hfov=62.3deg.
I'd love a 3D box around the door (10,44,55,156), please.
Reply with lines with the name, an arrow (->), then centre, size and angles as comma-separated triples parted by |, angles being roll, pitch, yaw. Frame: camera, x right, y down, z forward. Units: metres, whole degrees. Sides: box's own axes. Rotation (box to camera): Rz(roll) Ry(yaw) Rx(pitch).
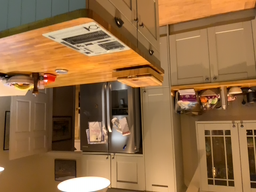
door -> -1.800, 0.100, 4.130 | 0.110, 1.900, 1.120 | -3, 174, 14

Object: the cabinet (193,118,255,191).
cabinet -> 1.470, 0.830, 2.830 | 1.050, 1.040, 0.340 | -4, 173, 23
